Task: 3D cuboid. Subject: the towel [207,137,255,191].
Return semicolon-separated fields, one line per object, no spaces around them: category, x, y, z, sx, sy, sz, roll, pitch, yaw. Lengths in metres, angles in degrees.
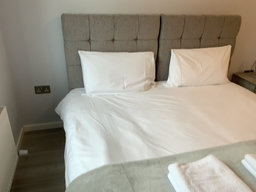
towel;0.690;0.360;1.110;0.410;0.080;0.310;-6;27;-16
